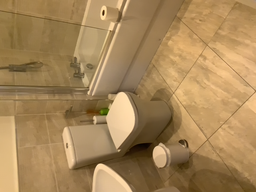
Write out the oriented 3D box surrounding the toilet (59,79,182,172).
[{"bbox_3d":[-0.090,0.250,1.880,0.640,0.830,0.410,-61,42,36],"label":"toilet"}]
